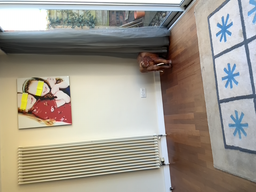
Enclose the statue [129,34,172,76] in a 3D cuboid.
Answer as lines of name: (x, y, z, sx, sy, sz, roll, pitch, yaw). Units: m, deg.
statue: (0.310, -0.620, 3.160, 0.330, 0.460, 0.570, 99, 163, -45)
